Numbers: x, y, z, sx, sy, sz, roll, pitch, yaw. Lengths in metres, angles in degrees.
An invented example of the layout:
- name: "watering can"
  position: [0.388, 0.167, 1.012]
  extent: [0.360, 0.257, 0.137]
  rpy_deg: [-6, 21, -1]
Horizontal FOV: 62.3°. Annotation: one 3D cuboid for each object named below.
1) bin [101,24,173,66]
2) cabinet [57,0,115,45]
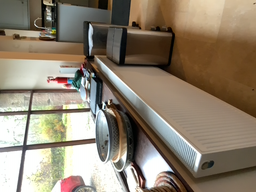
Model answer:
- name: "bin"
  position: [0.060, -0.490, 2.070]
  extent: [0.510, 0.510, 0.320]
  rpy_deg: [-146, 58, -64]
- name: "cabinet"
  position: [-0.760, -1.300, 3.770]
  extent: [0.360, 0.930, 0.640]
  rpy_deg: [-131, 46, -59]
